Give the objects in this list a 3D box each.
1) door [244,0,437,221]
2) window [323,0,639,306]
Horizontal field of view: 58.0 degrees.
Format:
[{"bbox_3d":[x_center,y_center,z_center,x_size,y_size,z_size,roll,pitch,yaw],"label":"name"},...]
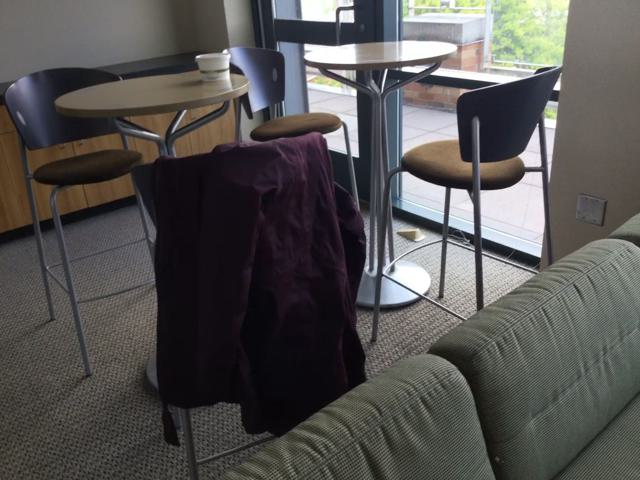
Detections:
[{"bbox_3d":[0.070,-1.200,3.420,0.360,1.950,1.240,-20,25,-35],"label":"door"},{"bbox_3d":[0.650,-0.870,2.590,0.380,1.980,1.330,-6,16,-38],"label":"window"}]
